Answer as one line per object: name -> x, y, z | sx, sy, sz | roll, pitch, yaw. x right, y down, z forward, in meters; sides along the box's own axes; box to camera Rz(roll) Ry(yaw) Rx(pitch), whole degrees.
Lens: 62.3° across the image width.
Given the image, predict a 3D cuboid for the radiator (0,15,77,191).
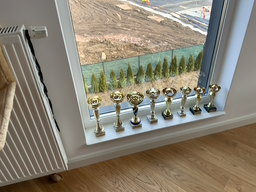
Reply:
radiator -> -0.790, 0.190, 1.080 | 0.860, 1.050, 0.140 | -10, 37, -10
